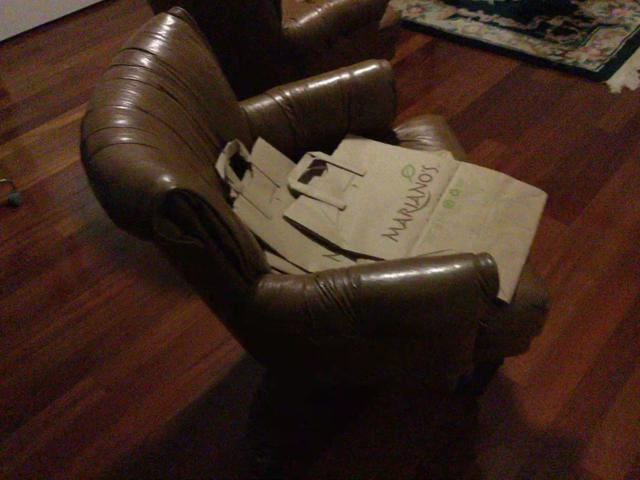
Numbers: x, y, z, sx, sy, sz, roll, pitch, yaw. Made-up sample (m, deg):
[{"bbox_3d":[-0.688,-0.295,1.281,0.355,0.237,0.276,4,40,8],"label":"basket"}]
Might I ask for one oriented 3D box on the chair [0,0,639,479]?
[{"bbox_3d":[-0.010,0.010,1.080,0.760,0.830,0.750,-1,45,5],"label":"chair"}]
